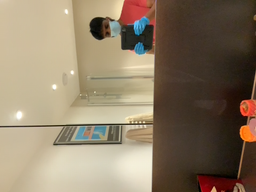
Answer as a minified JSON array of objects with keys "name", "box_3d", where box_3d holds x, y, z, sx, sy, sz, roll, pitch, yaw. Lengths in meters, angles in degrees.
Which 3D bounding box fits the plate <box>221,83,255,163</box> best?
[{"name":"plate","box_3d":[0.580,0.110,0.980,0.260,0.150,0.280,-94,3,-70]}]
